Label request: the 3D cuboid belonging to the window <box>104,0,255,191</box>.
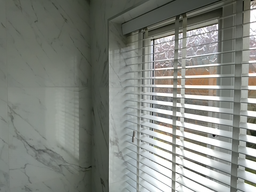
[{"bbox_3d":[0.310,0.130,0.900,0.280,1.220,1.290,-2,4,-32],"label":"window"}]
